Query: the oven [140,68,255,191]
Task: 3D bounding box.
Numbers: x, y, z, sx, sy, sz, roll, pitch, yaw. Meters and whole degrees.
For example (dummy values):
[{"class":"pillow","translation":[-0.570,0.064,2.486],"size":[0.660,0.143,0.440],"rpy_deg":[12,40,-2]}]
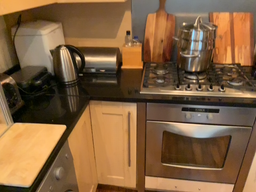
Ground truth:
[{"class":"oven","translation":[0.490,0.300,1.650],"size":[0.710,0.840,0.610],"rpy_deg":[4,29,9]}]
